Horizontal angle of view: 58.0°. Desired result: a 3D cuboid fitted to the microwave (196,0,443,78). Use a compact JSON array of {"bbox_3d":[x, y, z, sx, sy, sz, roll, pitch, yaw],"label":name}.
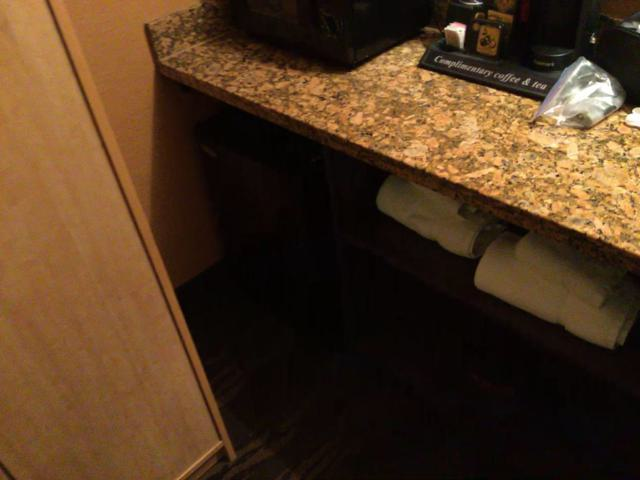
[{"bbox_3d":[-0.010,-0.660,1.520,0.540,0.270,0.380,25,42,34],"label":"microwave"}]
